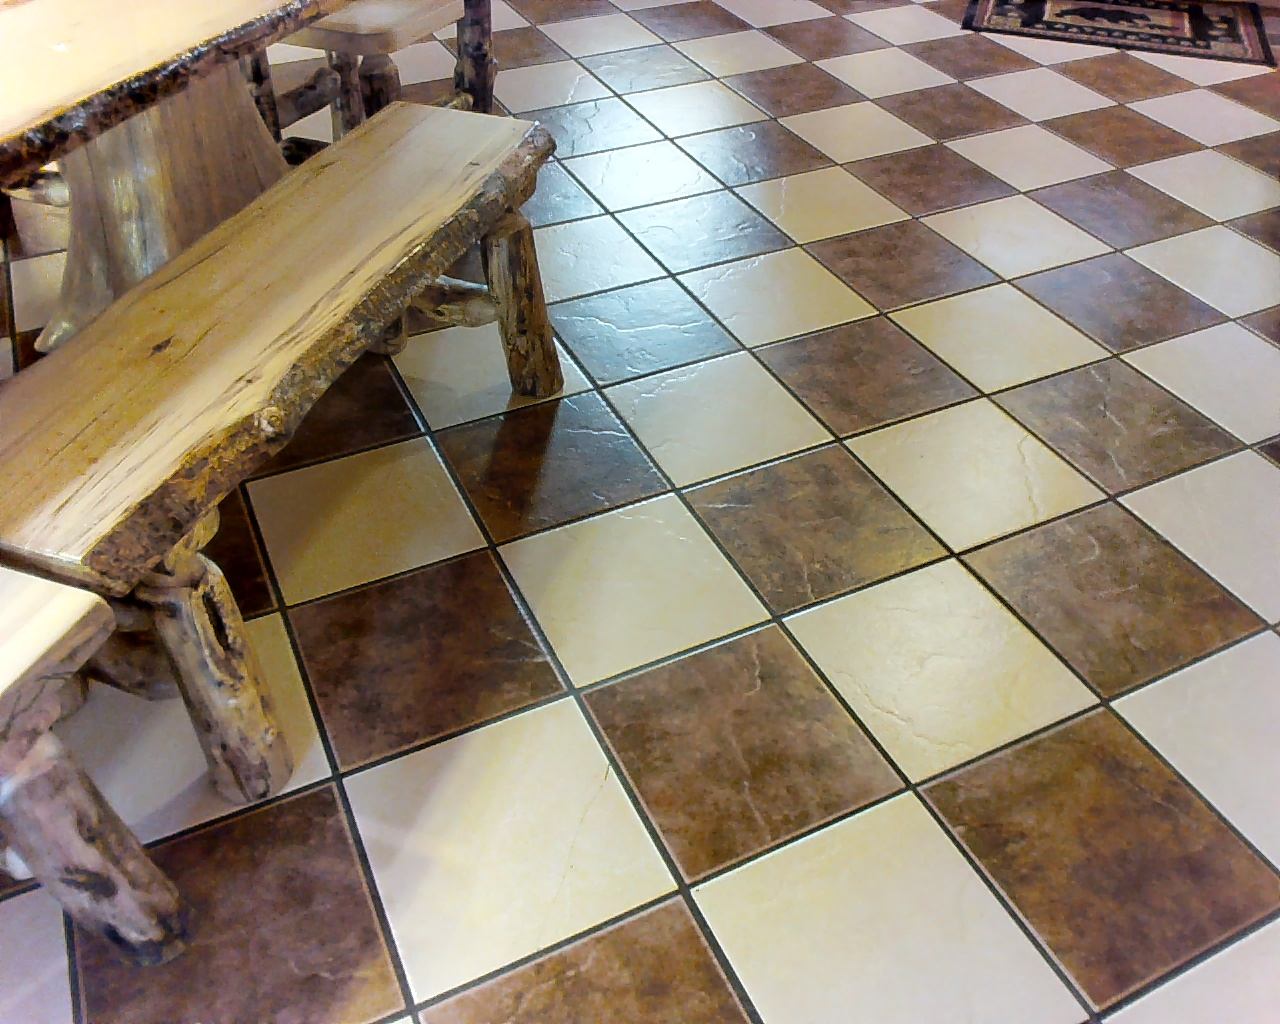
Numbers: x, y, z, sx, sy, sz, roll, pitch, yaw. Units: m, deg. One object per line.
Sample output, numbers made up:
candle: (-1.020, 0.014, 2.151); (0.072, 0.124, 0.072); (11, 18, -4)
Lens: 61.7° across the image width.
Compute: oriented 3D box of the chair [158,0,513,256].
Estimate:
chair: (-0.670, -1.160, 2.420); (0.490, 0.890, 0.610); (14, 43, 14)
